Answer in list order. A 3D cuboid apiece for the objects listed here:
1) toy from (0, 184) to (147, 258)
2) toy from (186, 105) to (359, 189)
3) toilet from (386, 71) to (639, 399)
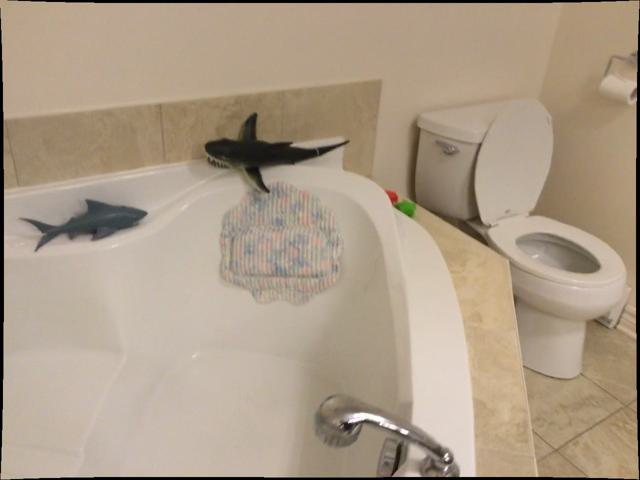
[{"bbox_3d":[-0.560,-0.050,1.320,0.290,0.070,0.100,-16,36,-31],"label":"toy"},{"bbox_3d":[-0.120,-0.260,1.550,0.440,0.110,0.150,-16,36,-31],"label":"toy"},{"bbox_3d":[0.679,-0.070,1.890,0.500,0.740,0.710,-16,36,-30],"label":"toilet"}]
